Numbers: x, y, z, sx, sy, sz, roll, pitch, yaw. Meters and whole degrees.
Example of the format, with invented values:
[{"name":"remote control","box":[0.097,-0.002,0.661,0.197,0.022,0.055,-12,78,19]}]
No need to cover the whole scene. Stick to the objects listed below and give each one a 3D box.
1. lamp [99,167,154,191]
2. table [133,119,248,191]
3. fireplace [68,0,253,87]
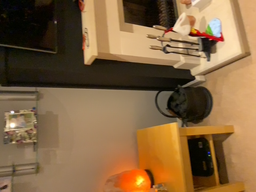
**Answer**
[{"name":"lamp","box":[-0.010,0.650,1.480,0.190,0.330,0.240,-24,68,61]},{"name":"table","box":[0.430,0.480,1.600,0.530,0.560,0.520,-26,66,60]},{"name":"fireplace","box":[0.140,-0.810,1.680,0.800,1.040,1.270,-28,64,60]}]
